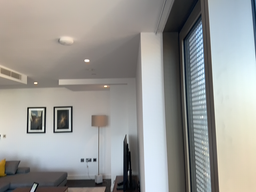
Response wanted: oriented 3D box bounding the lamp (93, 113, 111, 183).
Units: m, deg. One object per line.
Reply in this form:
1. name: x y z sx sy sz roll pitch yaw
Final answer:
1. lamp: -0.650 1.260 5.310 0.400 1.630 0.490 -1 -5 -3
